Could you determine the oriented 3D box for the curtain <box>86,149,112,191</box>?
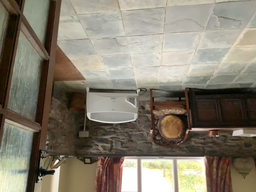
[{"bbox_3d":[-0.450,1.480,3.240,0.330,1.280,0.220,-2,163,7],"label":"curtain"}]

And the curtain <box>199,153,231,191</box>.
[{"bbox_3d":[1.260,1.460,3.000,0.350,1.260,0.160,-2,163,7],"label":"curtain"}]

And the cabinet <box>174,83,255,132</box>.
[{"bbox_3d":[1.230,0.190,3.010,1.040,0.560,0.550,-2,163,7],"label":"cabinet"}]

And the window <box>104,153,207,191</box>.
[{"bbox_3d":[0.420,1.550,3.400,1.610,1.210,0.160,-1,163,5],"label":"window"}]
